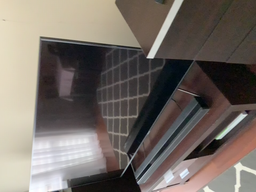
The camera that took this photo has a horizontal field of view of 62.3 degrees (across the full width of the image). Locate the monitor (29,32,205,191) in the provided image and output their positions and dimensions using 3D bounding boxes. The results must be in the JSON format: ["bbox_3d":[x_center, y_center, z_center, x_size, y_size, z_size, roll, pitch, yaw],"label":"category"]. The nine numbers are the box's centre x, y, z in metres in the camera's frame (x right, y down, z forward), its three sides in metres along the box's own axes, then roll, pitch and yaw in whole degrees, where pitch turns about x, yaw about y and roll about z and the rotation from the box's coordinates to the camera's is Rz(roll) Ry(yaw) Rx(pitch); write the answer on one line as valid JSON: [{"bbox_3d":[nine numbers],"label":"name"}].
[{"bbox_3d":[-0.190,0.280,1.480,0.050,0.860,1.470,65,143,38],"label":"monitor"}]
